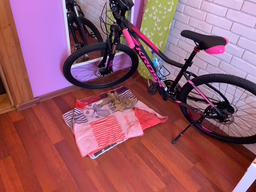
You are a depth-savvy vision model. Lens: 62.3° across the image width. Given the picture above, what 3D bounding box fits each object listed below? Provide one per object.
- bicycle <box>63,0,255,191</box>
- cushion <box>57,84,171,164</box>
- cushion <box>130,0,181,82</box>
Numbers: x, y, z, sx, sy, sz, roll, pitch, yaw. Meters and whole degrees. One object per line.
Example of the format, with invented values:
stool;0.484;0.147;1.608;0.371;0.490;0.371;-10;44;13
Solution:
bicycle;0.280;-0.170;1.520;0.900;0.970;1.460;-20;45;-28
cushion;-0.120;0.180;1.870;0.800;0.040;0.600;-21;45;-29
cushion;0.250;-0.700;1.990;0.190;1.110;0.360;-22;46;-30
